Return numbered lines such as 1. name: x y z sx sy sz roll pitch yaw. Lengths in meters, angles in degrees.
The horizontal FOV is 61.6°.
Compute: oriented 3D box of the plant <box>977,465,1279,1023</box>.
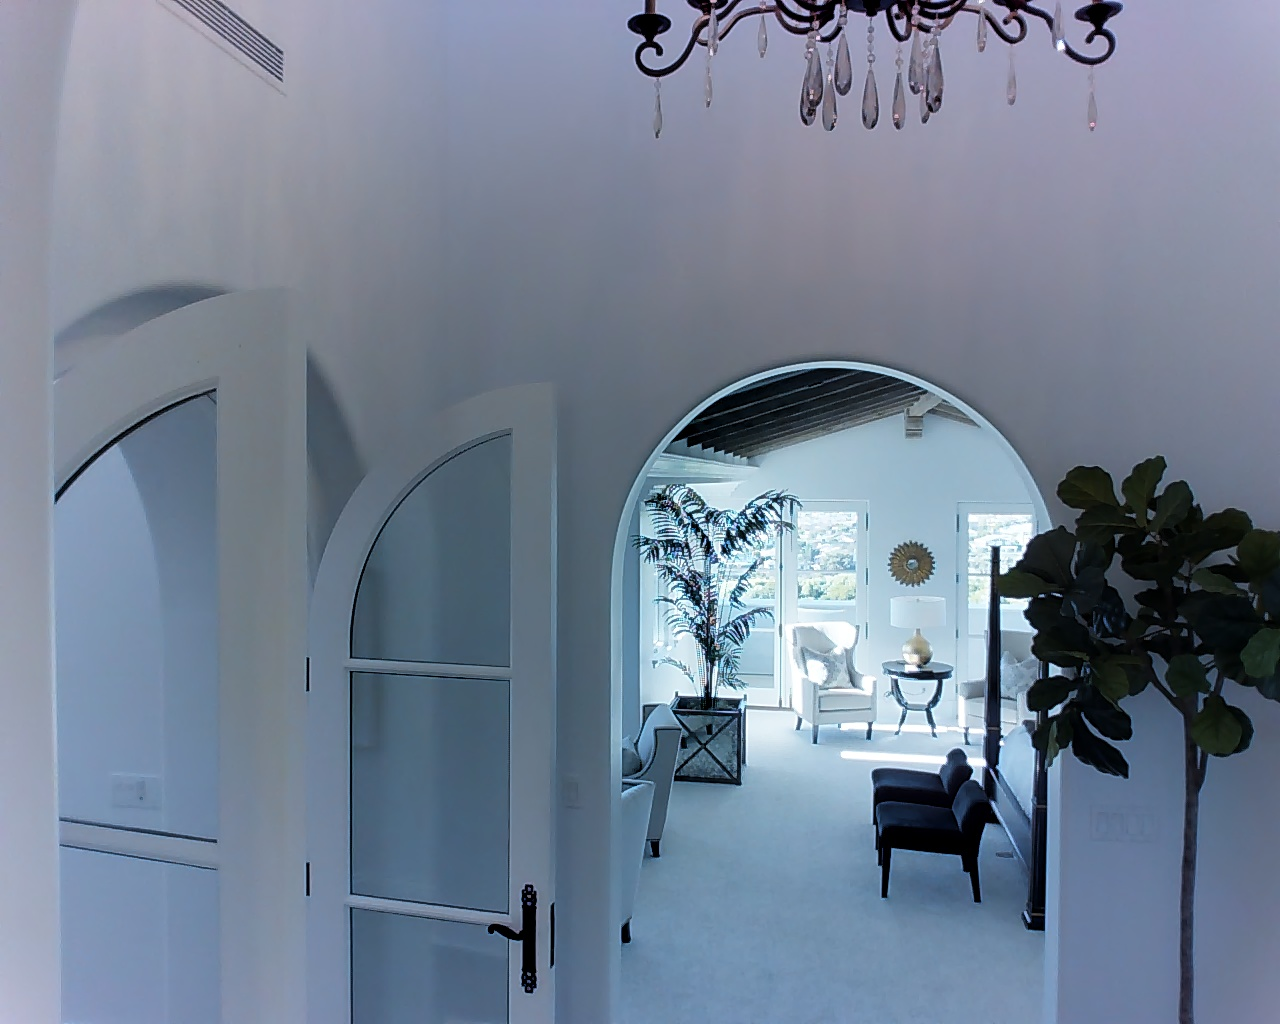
1. plant: 1.560 1.010 3.030 1.040 2.261 0.960 0 1 10
